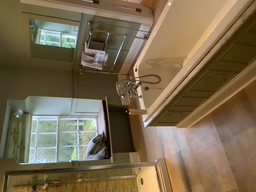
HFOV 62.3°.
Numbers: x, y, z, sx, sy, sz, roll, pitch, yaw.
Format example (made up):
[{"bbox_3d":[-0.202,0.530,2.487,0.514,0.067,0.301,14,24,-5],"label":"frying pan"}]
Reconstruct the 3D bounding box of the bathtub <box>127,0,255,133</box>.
[{"bbox_3d":[0.640,-0.470,2.020,1.870,0.620,0.950,120,146,-52],"label":"bathtub"}]
